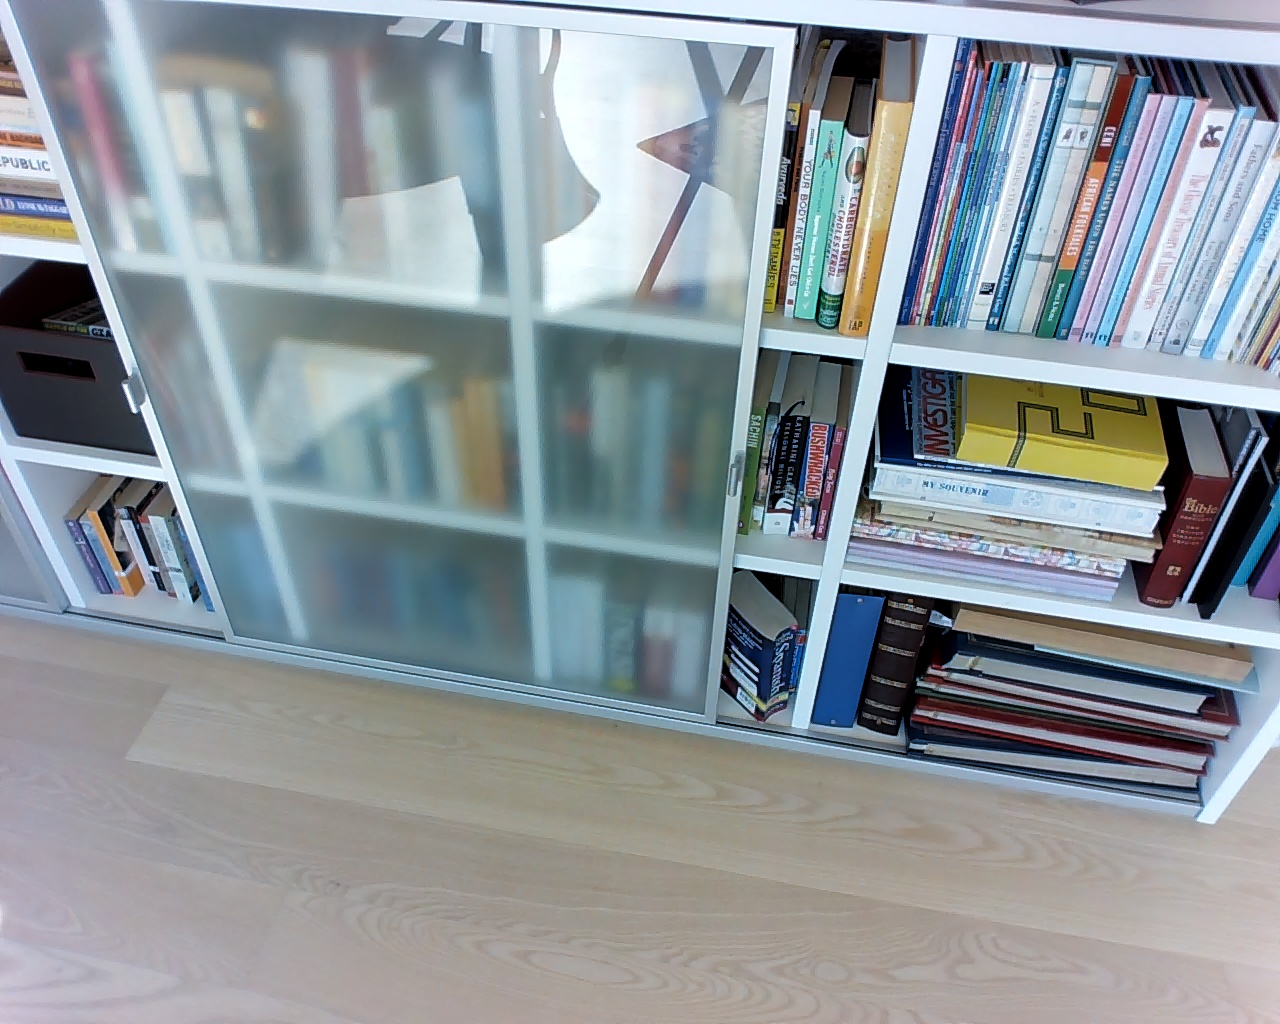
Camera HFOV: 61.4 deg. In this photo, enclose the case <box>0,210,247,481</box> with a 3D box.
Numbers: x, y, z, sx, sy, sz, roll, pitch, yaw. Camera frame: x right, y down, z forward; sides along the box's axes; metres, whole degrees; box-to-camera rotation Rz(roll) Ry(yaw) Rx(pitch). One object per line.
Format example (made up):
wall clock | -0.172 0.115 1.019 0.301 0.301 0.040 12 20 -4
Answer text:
case | -0.760 -0.240 1.540 0.240 0.260 0.260 7 43 6
